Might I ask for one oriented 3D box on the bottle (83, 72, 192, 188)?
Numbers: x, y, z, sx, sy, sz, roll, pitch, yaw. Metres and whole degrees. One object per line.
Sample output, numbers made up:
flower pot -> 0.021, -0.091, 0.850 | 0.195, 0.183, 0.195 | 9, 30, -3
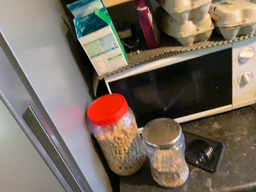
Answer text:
bottle -> 0.030, 0.090, 0.580 | 0.220, 0.200, 0.180 | -14, 32, 6
